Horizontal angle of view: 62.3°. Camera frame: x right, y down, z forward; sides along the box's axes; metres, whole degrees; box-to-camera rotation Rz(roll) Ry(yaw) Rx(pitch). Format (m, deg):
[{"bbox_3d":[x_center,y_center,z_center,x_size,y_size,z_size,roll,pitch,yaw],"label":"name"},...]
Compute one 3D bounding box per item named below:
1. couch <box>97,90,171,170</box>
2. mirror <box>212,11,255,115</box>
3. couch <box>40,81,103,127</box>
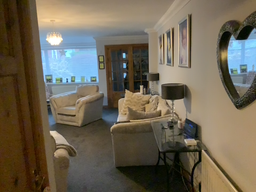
[{"bbox_3d":[0.070,0.460,4.010,1.000,0.790,2.140,-2,10,-1],"label":"couch"},{"bbox_3d":[0.690,-0.200,1.260,0.100,0.520,0.620,-2,10,-1],"label":"mirror"},{"bbox_3d":[-1.480,0.140,5.660,1.190,0.940,1.040,5,12,31],"label":"couch"}]
